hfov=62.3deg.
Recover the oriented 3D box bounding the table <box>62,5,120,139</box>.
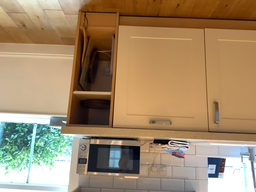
[{"bbox_3d":[-0.240,-0.130,1.680,0.300,0.900,0.600,2,167,0],"label":"table"}]
